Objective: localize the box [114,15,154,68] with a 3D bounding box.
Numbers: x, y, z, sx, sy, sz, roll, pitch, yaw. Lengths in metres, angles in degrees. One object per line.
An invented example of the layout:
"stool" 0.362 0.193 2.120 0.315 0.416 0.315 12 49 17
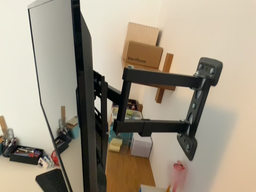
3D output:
"box" 0.040 -0.350 1.370 0.180 0.260 0.310 13 16 -1
